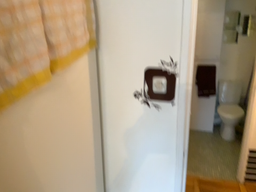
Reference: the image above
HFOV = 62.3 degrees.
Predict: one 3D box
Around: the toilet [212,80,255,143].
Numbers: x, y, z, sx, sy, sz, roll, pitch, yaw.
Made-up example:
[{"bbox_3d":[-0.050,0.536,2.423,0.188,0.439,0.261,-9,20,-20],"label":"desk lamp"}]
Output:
[{"bbox_3d":[1.600,0.210,3.310,0.380,0.790,0.630,2,19,11],"label":"toilet"}]
